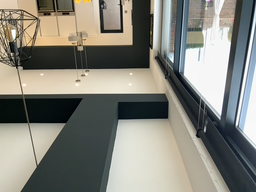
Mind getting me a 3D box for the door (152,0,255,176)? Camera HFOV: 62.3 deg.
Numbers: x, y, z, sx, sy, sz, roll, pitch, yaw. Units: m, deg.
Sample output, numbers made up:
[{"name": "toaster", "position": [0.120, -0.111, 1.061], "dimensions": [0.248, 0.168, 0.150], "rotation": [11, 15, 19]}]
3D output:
[{"name": "door", "position": [0.640, -1.210, 1.880], "dimensions": [0.140, 2.420, 4.910], "rotation": [-1, -160, -1]}]
